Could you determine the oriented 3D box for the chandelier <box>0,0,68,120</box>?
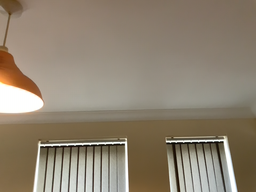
[{"bbox_3d":[-0.440,-0.130,0.820,0.320,0.340,0.460,1,160,-7],"label":"chandelier"}]
